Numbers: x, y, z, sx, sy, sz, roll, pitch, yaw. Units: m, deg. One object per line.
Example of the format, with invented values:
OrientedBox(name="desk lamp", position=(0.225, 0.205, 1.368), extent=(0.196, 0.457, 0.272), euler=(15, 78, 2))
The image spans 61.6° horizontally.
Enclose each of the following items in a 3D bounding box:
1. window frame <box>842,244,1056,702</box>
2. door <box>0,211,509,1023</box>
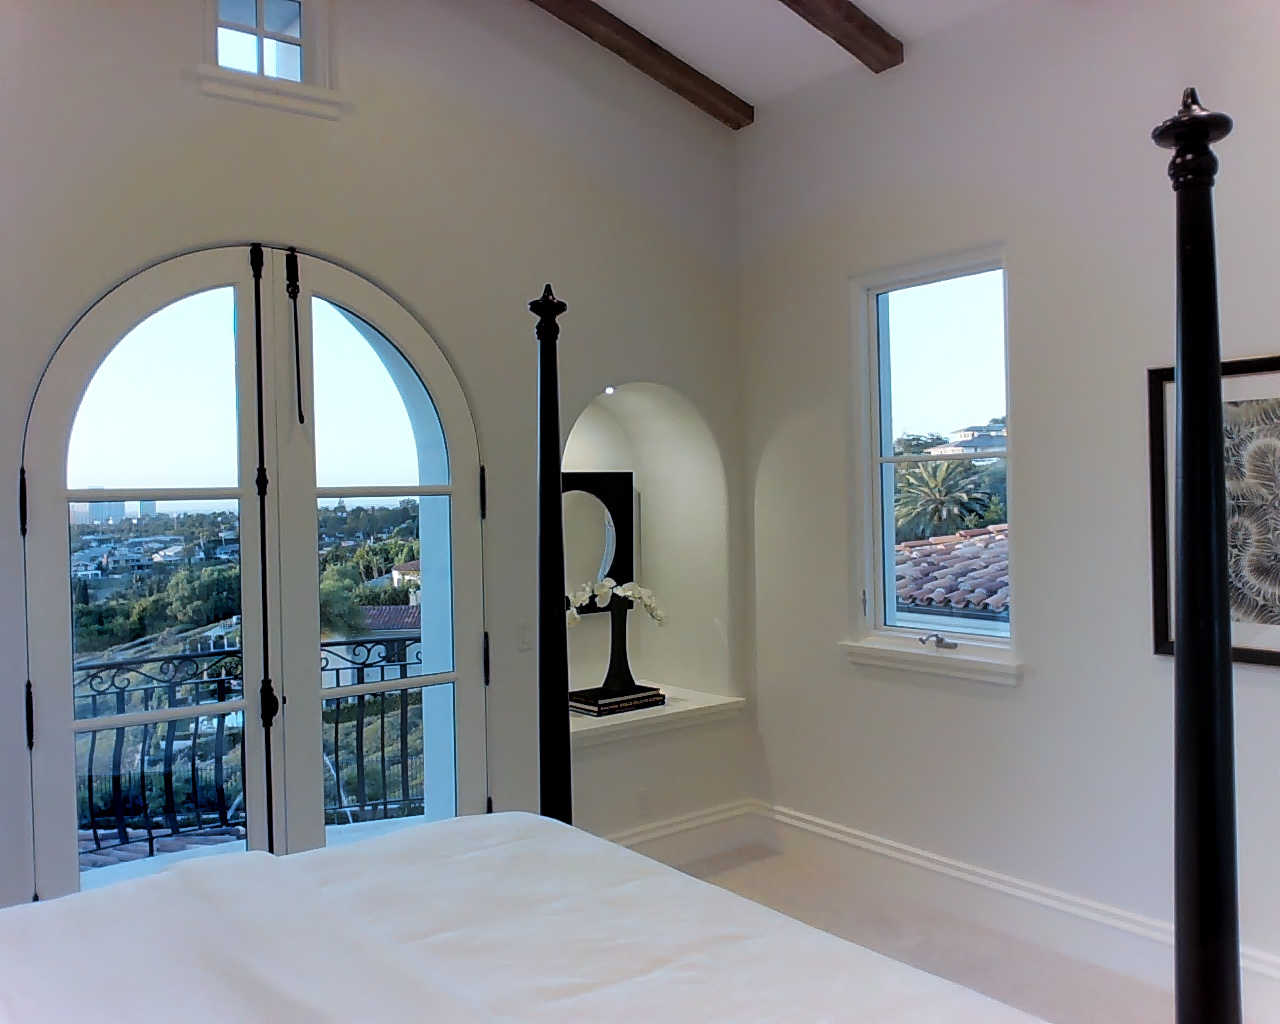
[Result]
OrientedBox(name="window frame", position=(1.160, -0.140, 4.110), extent=(0.170, 1.590, 0.840), euler=(-3, 3, -37))
OrientedBox(name="door", position=(-1.210, 0.360, 3.620), extent=(1.620, 2.491, 0.140), euler=(-3, 3, -37))
